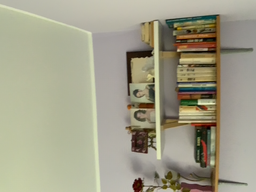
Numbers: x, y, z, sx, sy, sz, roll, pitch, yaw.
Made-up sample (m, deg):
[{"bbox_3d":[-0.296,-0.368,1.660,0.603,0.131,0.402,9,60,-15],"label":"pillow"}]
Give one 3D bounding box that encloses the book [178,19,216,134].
[{"bbox_3d":[0.410,-0.110,1.280,0.180,0.190,0.630,-28,-62,-71],"label":"book"}]
